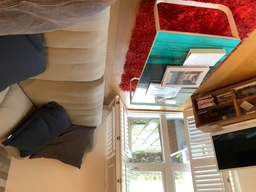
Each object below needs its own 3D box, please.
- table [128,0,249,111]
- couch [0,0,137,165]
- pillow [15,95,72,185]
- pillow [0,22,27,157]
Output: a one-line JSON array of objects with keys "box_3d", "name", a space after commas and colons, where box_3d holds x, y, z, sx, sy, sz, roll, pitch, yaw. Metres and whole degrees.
[{"box_3d": [0.390, -0.250, 1.920, 0.630, 0.360, 1.150, 1, 154, -7], "name": "table"}, {"box_3d": [-0.690, -0.050, 1.730, 1.050, 0.810, 2.490, 2, 154, -8], "name": "couch"}, {"box_3d": [-0.800, 0.420, 2.150, 0.240, 0.650, 0.600, -3, -153, -1], "name": "pillow"}, {"box_3d": [-0.640, -0.090, 1.130, 0.130, 0.550, 0.630, 5, -164, -25], "name": "pillow"}]
